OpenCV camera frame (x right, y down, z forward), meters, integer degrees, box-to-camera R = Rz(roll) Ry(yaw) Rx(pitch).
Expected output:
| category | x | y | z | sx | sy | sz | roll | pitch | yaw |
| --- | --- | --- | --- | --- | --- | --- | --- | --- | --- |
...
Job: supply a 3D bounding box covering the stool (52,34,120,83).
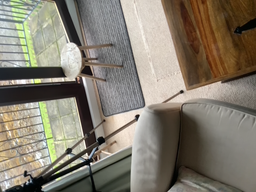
| category | x | y | z | sx | sy | sz | roll | pitch | yaw |
| --- | --- | --- | --- | --- | --- | --- | --- | --- | --- |
| stool | -0.370 | -0.320 | 1.900 | 0.310 | 0.440 | 0.300 | -19 | 84 | 41 |
